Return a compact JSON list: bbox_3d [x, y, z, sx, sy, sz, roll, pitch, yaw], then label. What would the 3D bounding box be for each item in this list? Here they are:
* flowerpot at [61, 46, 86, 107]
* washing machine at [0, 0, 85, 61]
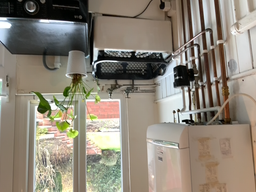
[{"bbox_3d":[-0.430,-0.140,1.700,0.180,0.430,0.280,0,173,-12],"label":"flowerpot"},{"bbox_3d":[-0.620,-0.790,1.510,0.590,0.850,0.810,0,173,-13],"label":"washing machine"}]
